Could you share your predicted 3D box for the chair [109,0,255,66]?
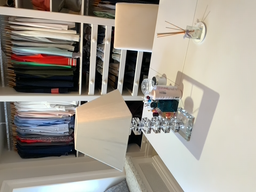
[{"bbox_3d":[0.410,-0.560,1.790,0.540,1.010,0.500,-144,57,-67],"label":"chair"}]
